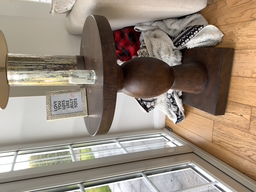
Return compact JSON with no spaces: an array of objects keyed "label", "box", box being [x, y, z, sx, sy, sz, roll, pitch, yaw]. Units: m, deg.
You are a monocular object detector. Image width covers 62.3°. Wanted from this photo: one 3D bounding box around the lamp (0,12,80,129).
[{"label":"lamp","box":[-0.530,-0.110,0.930,0.320,0.580,0.430,-158,68,-66]}]
